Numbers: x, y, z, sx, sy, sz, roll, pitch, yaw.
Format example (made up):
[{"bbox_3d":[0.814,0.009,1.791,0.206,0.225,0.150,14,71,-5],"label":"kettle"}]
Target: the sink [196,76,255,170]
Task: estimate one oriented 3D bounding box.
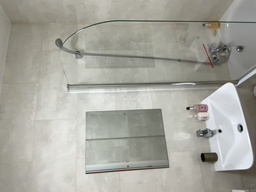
[{"bbox_3d":[0.740,0.210,1.500,0.420,0.250,0.570,109,158,-68],"label":"sink"}]
